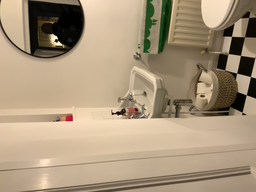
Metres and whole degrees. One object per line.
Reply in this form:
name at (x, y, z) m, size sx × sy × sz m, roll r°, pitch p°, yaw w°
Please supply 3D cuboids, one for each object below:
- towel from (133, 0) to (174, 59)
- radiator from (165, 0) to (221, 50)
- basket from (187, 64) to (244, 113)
towel at (0.210, -0.590, 1.760) m, size 0.070 × 0.280 × 0.550 m, roll -132°, pitch 44°, yaw -66°
radiator at (0.560, -0.630, 1.850) m, size 0.070 × 0.430 × 0.420 m, roll -129°, pitch 41°, yaw -64°
basket at (0.770, -0.080, 1.920) m, size 0.340 × 0.270 × 0.370 m, roll -138°, pitch 50°, yaw -68°
